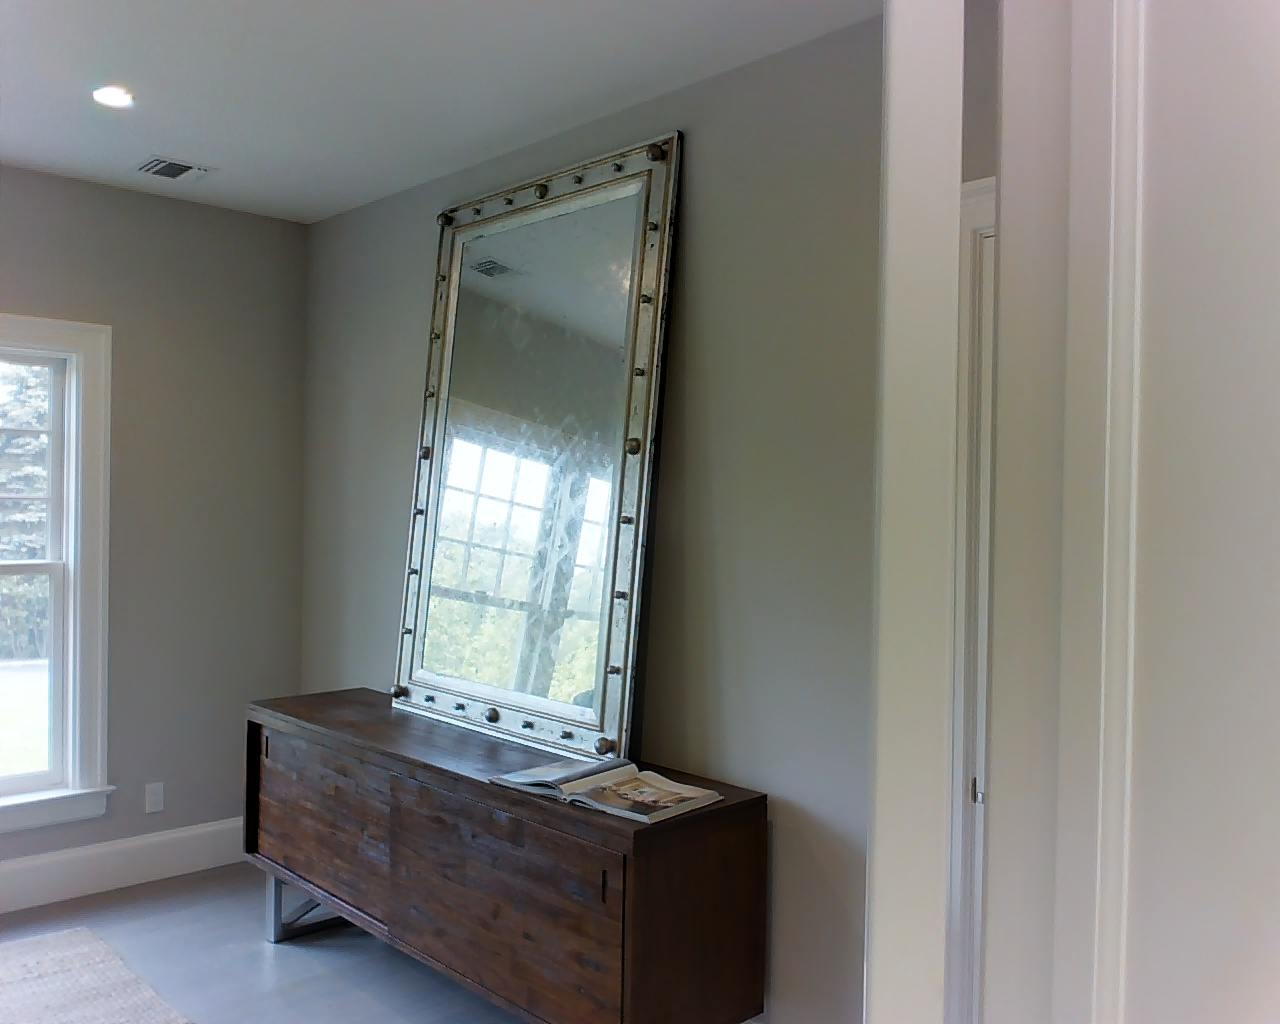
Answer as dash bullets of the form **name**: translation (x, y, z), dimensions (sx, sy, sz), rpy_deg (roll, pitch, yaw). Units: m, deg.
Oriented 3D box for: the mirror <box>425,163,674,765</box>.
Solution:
- **mirror**: translation (-0.320, -0.150, 3.390), dimensions (0.060, 1.690, 0.990), rpy_deg (6, -3, -43)
